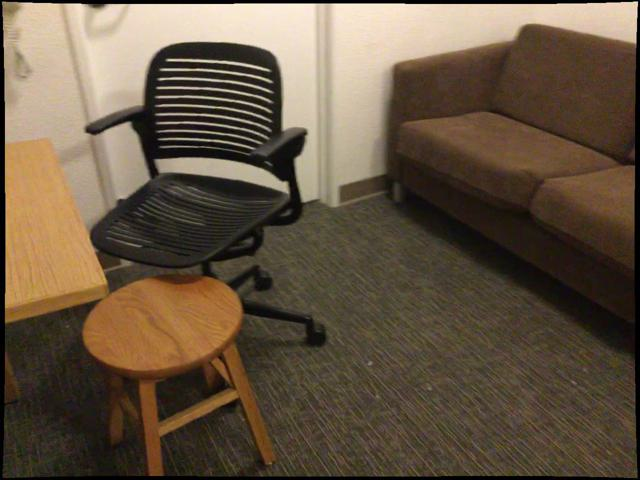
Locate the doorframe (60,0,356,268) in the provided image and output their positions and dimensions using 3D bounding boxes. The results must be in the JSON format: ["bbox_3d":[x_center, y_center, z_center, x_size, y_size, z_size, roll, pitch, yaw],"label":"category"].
[{"bbox_3d":[-0.360,-0.741,2.150,1.039,1.571,0.190,-17,36,-24],"label":"doorframe"}]
